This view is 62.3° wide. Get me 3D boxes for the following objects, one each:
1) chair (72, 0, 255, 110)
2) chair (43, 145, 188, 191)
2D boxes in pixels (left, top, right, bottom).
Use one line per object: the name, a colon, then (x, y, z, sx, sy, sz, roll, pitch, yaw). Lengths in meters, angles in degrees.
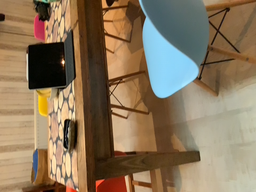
chair: (0.250, -0.240, 0.890, 0.520, 0.810, 0.510, -21, 71, 57)
chair: (-0.090, 0.720, 1.440, 0.590, 0.800, 0.650, -25, 68, 56)
